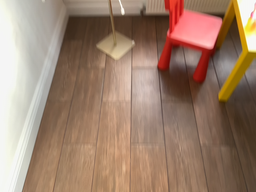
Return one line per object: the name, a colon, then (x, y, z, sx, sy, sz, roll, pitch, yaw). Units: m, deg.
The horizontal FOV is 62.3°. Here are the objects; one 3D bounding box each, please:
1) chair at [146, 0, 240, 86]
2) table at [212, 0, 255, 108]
chair: (0.410, -0.480, 1.380, 0.430, 0.650, 0.400, 23, 60, 15)
table: (0.910, -0.300, 1.350, 0.580, 0.470, 0.620, 9, 57, 7)
